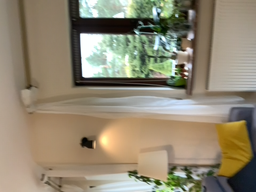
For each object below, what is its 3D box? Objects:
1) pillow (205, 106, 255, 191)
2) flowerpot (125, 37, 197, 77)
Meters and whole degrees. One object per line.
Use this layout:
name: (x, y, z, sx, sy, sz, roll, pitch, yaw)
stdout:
pillow: (1.130, 0.580, 2.240, 0.520, 0.360, 0.820, -91, 2, -74)
flowerpot: (0.360, -0.460, 2.470, 0.190, 0.790, 0.430, -91, 2, -74)
